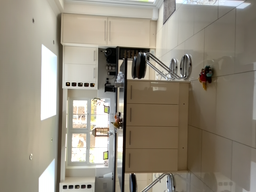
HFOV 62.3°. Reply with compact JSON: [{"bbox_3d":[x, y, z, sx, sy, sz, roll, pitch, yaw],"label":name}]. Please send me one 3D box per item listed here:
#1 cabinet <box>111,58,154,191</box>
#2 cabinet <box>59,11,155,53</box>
[{"bbox_3d":[0.080,1.060,5.050,0.600,0.880,3.780,-179,90,-83],"label":"cabinet"},{"bbox_3d":[-0.480,-1.460,4.980,0.590,2.100,0.680,-179,90,-83],"label":"cabinet"}]
